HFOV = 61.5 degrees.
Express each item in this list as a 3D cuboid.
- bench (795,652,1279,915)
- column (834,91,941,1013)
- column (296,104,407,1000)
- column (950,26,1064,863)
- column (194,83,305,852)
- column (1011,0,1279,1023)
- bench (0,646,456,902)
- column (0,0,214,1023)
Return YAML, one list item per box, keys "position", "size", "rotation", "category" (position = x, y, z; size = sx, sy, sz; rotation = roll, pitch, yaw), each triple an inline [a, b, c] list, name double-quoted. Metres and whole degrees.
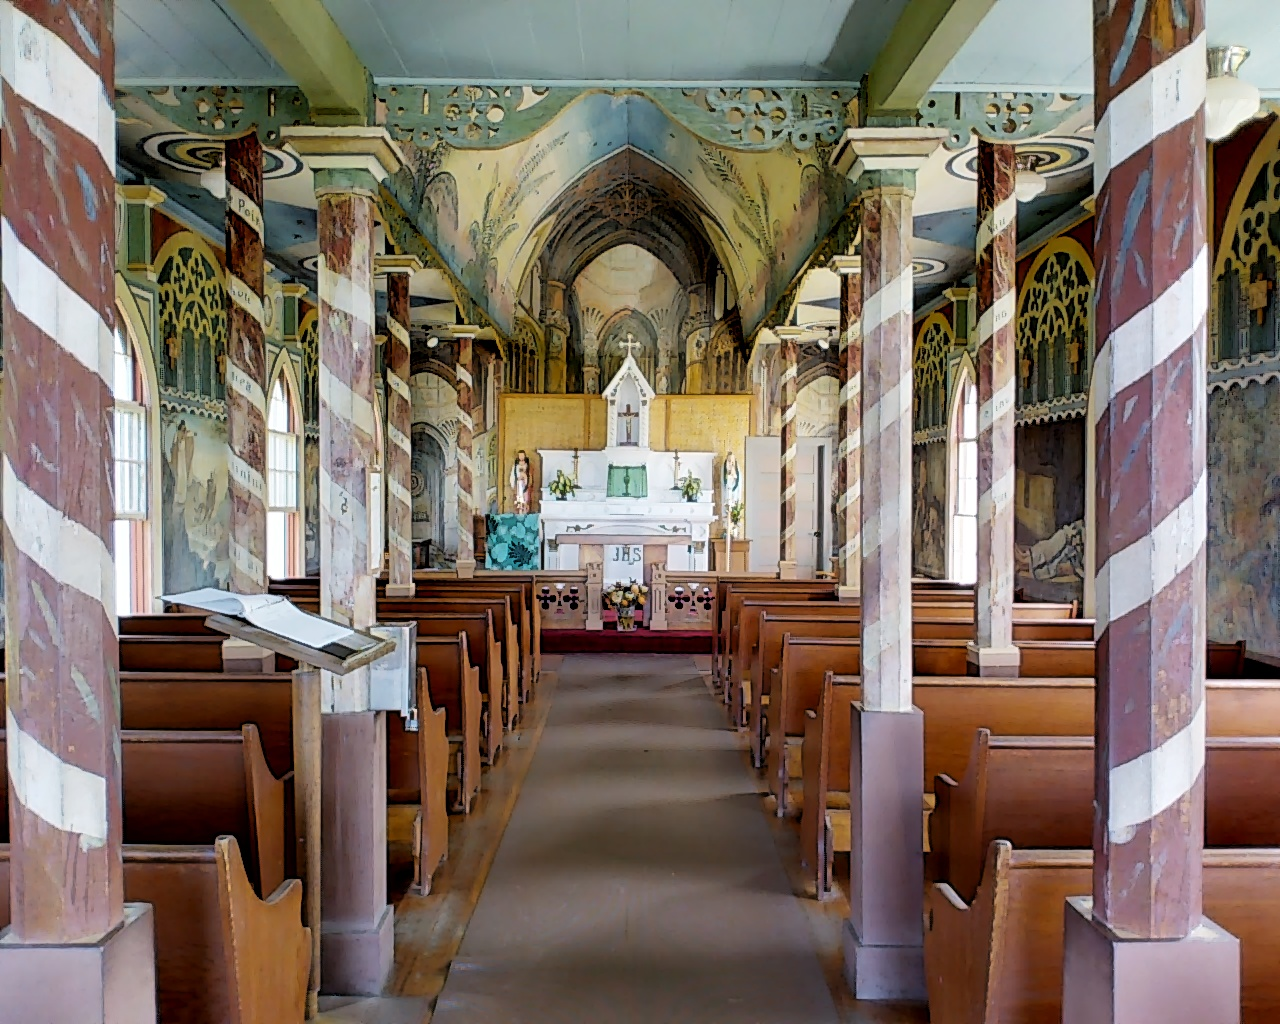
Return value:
- position: [1.769, 1.040, 4.250]
  size: [2.229, 0.880, 0.570]
  rotation: [0, 1, 0]
  category: "bench"
- position: [0.770, 0.130, 3.380]
  size: [0.260, 2.791, 0.250]
  rotation: [0, 1, 1]
  category: "column"
- position: [-0.900, 0.130, 3.390]
  size: [0.280, 2.711, 0.260]
  rotation: [0, 1, -2]
  category: "column"
- position: [1.580, -0.270, 4.670]
  size: [0.330, 3.471, 0.400]
  rotation: [0, 1, 0]
  category: "column"
- position: [-1.700, -0.180, 4.710]
  size: [0.380, 3.271, 0.250]
  rotation: [0, 1, 1]
  category: "column"
- position: [0.820, 0.150, 1.700]
  size: [0.350, 2.741, 0.300]
  rotation: [0, 1, 0]
  category: "column"
- position: [-1.889, 1.010, 4.290]
  size: [2.209, 0.860, 0.590]
  rotation: [0, 1, 0]
  category: "bench"
- position: [-0.900, 0.150, 1.680]
  size: [0.320, 2.701, 0.350]
  rotation: [0, 1, 0]
  category: "column"
